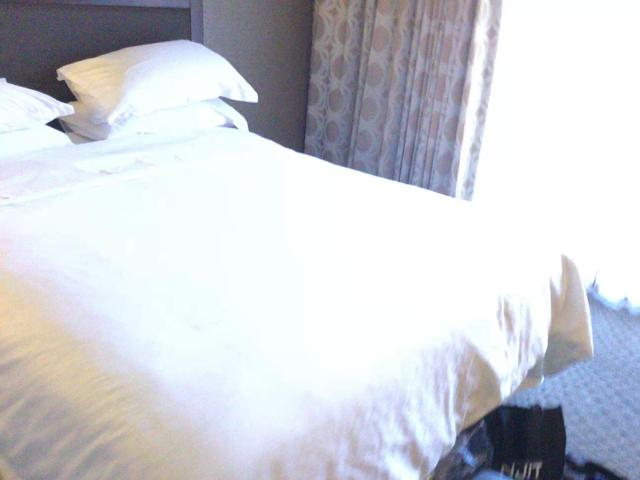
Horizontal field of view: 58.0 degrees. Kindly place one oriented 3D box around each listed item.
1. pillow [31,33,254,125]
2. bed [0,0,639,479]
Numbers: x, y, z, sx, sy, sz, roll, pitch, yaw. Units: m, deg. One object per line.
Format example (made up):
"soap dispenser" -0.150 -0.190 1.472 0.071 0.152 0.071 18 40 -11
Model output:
"pillow" -0.760 -0.750 2.590 0.510 0.280 0.790 21 29 36
"bed" -0.410 -0.200 1.890 2.310 1.400 1.860 21 29 36
